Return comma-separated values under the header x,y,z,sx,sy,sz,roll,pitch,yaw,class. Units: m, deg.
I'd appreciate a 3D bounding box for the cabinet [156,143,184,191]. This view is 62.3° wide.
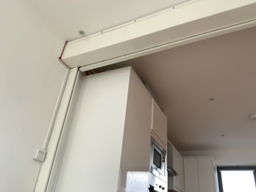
x,y,z,sx,sy,sz,roll,pitch,yaw,class
0.860,1.490,4.330,0.340,0.820,0.740,-10,-33,25,cabinet

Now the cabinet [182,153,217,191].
x,y,z,sx,sy,sz,roll,pitch,yaw,class
1.520,1.680,4.530,0.610,0.790,0.340,-10,-33,25,cabinet
